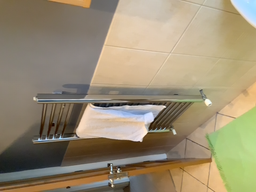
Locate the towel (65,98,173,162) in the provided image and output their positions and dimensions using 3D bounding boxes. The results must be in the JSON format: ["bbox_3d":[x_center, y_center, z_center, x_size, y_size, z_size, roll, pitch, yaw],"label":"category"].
[{"bbox_3d":[-0.090,0.230,1.380,0.530,0.530,0.170,-55,42,49],"label":"towel"}]
